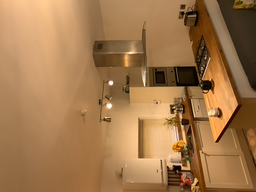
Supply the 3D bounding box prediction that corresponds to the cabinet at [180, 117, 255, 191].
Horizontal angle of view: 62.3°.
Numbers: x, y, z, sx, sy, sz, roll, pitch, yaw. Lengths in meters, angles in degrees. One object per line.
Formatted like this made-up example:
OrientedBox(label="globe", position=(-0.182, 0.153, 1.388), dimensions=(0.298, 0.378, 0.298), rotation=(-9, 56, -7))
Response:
OrientedBox(label="cabinet", position=(1.550, 1.070, 3.870), dimensions=(0.650, 0.920, 1.200), rotation=(87, -176, -50))
